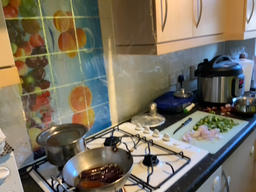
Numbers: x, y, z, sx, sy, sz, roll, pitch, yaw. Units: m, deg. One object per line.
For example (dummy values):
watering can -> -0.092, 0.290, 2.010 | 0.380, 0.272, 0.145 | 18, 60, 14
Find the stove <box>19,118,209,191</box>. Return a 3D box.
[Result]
stove -> -0.060, 0.260, 0.890 | 0.580, 0.030, 0.550 | -20, 22, -41

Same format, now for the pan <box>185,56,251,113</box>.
pan -> 0.600, -0.100, 1.420 | 0.290, 0.280, 0.330 | 12, 23, 44
